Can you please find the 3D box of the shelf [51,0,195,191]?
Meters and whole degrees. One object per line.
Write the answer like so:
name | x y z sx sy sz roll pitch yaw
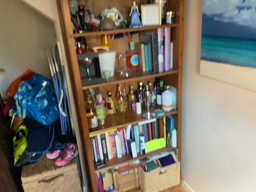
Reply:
shelf | -0.020 0.040 1.700 0.880 1.930 0.440 -9 22 -16
